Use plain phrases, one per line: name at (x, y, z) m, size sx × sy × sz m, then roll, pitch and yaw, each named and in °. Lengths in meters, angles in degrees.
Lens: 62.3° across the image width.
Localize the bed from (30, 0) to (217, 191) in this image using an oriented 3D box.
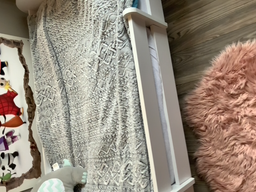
bed at (-0.080, 0.110, 1.290) m, size 0.880 × 0.450 × 1.730 m, roll -14°, pitch 82°, yaw 40°
